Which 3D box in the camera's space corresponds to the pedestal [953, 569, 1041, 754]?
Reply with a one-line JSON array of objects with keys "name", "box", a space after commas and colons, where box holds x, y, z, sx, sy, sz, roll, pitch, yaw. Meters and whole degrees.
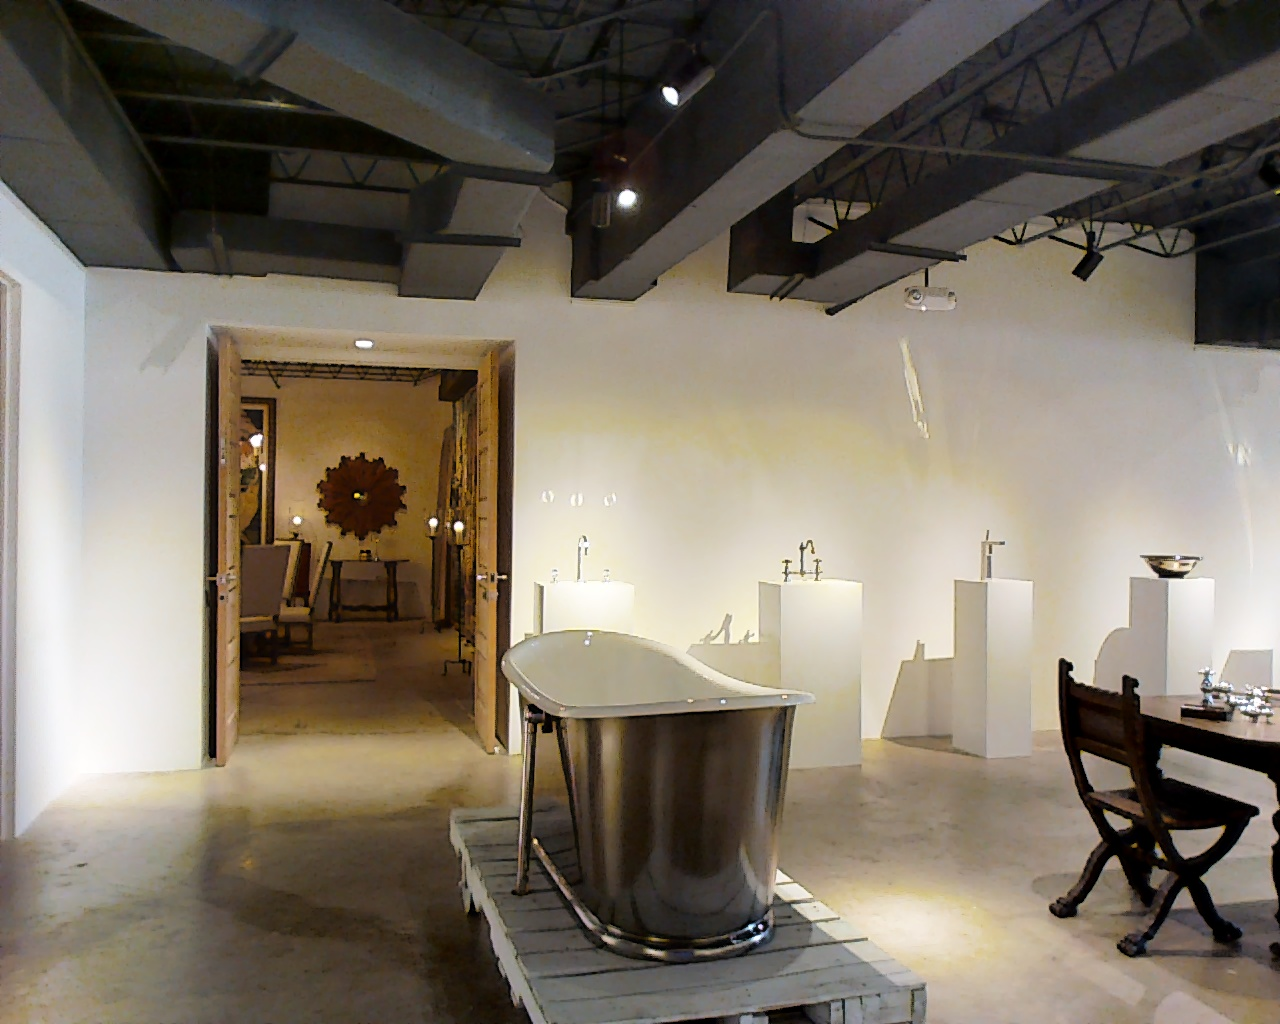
[{"name": "pedestal", "box": [2.240, 0.920, 6.750, 0.350, 1.100, 0.410, 1, 0, -14]}]

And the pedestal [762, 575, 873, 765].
[{"name": "pedestal", "box": [1.060, 0.930, 6.450, 0.540, 1.070, 0.380, 1, 0, -14]}]
